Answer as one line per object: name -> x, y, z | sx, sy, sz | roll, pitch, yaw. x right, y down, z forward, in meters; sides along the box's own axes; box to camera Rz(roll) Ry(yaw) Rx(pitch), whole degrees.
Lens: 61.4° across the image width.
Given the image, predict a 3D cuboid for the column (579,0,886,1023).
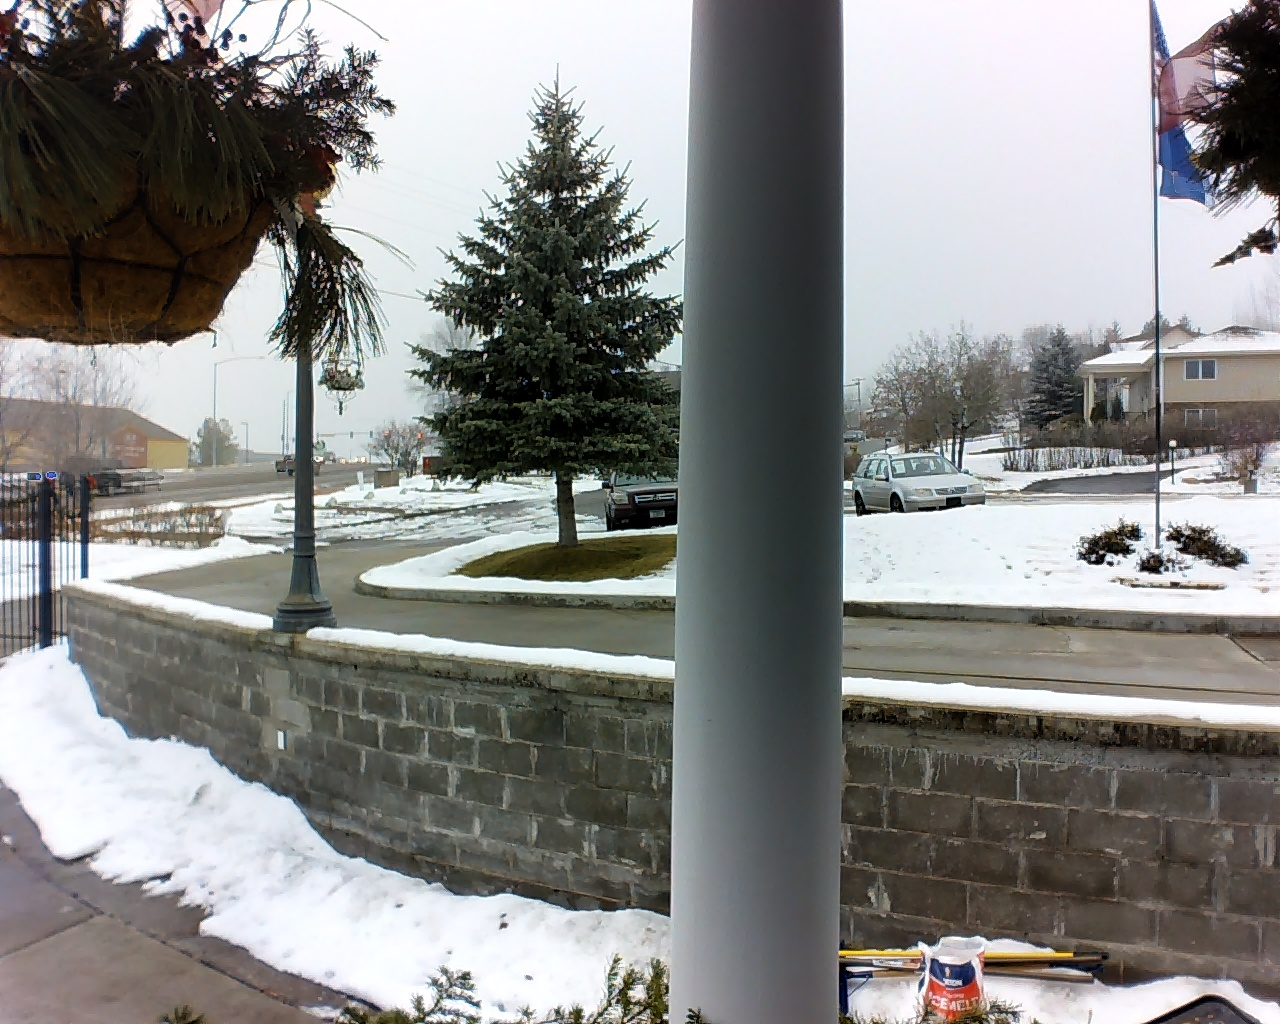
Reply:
column -> 0.140, -0.080, 1.460 | 0.360, 1.771, 0.290 | 1, 0, 14
